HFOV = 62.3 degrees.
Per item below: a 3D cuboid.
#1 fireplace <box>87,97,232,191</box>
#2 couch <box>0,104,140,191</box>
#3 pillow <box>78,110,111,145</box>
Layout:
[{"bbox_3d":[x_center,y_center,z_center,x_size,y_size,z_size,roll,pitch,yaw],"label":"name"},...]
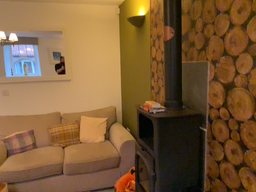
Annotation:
[{"bbox_3d":[0.120,0.660,1.560,0.690,1.150,0.860,-3,9,-17],"label":"fireplace"},{"bbox_3d":[-0.840,0.650,2.770,1.750,0.820,1.050,-3,10,-16],"label":"couch"},{"bbox_3d":[-0.470,0.440,2.950,0.330,0.360,0.110,-25,17,-6],"label":"pillow"}]
